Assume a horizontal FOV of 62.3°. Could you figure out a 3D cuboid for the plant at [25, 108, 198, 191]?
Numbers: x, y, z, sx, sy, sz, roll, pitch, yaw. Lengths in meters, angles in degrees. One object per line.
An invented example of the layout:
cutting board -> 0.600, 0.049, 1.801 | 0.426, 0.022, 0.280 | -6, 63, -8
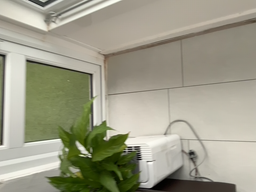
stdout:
plant -> 0.010, 0.300, 1.040 | 0.420, 0.820, 0.450 | 1, 87, 33
